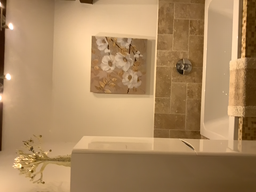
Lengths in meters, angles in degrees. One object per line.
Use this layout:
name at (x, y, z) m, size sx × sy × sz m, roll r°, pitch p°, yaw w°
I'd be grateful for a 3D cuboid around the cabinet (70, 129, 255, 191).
cabinet at (0.380, 0.450, 1.400) m, size 0.430 × 1.410 × 0.340 m, roll -127°, pitch 39°, yaw -86°
